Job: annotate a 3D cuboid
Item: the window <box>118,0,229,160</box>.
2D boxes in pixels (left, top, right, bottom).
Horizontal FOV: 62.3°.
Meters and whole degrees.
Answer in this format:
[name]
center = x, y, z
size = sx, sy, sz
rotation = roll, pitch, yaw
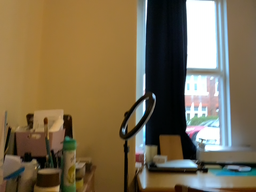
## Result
[window]
center = 0.480, -0.320, 2.360
size = 1.130, 1.950, 0.270
rotation = 1, -5, -3
